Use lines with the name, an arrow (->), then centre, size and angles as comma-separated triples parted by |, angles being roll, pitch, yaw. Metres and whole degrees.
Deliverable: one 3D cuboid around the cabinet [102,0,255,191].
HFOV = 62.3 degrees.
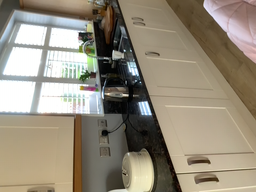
cabinet -> 0.370, -0.220, 2.250 | 3.540, 0.890, 0.600 | -104, 23, -43
